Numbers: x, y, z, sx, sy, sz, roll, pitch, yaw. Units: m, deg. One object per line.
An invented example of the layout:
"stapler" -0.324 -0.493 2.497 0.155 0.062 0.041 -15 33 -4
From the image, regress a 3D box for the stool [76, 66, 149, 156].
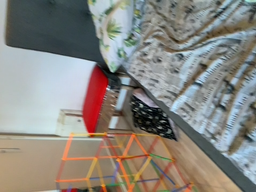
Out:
"stool" -0.160 0.130 1.790 0.360 0.360 0.620 49 127 53
